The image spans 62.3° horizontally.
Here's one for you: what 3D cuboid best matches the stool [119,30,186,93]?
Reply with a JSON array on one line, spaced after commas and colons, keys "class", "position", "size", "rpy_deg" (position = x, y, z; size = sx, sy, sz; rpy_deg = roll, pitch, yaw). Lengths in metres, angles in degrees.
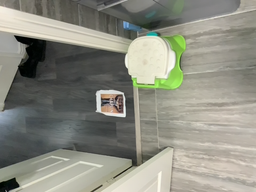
[{"class": "stool", "position": [0.150, -0.210, 1.340], "size": [0.350, 0.210, 0.340], "rpy_deg": [7, 98, 33]}]
